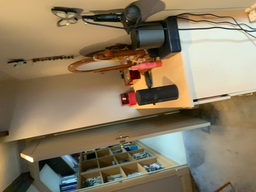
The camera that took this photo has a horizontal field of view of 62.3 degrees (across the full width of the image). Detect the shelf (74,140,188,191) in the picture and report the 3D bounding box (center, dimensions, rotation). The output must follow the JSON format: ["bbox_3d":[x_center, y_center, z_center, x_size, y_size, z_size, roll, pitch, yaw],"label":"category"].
[{"bbox_3d":[-0.170,1.410,4.200,2.440,1.610,0.380,167,95,-78],"label":"shelf"}]
